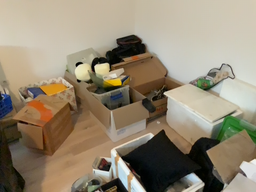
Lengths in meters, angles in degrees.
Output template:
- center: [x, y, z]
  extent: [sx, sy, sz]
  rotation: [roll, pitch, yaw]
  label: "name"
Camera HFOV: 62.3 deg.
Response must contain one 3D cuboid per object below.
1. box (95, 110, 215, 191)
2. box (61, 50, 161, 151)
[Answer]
- center: [0.180, 0.510, 1.650]
  extent: [0.630, 0.380, 0.610]
  rotation: [-19, 35, -30]
  label: "box"
- center: [-0.280, -0.060, 2.620]
  extent: [0.640, 0.590, 1.300]
  rotation: [-17, 34, -27]
  label: "box"
